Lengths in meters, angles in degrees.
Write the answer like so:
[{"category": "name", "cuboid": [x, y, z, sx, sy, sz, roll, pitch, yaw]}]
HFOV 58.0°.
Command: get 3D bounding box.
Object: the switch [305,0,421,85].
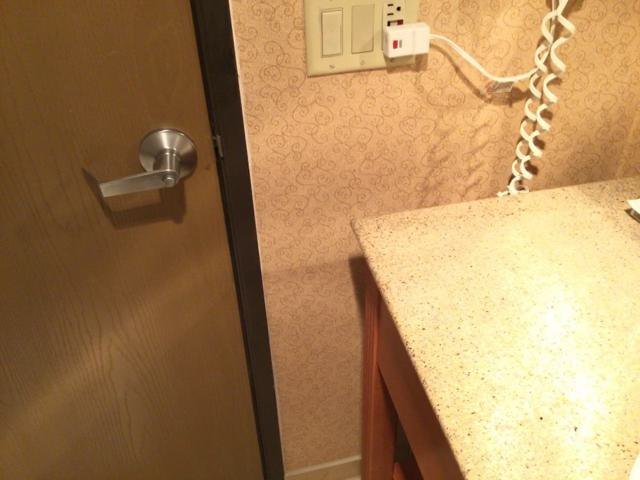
[{"category": "switch", "cuboid": [0.060, -0.290, 0.820, 0.160, 0.120, 0.020, -9, 39, -10]}]
